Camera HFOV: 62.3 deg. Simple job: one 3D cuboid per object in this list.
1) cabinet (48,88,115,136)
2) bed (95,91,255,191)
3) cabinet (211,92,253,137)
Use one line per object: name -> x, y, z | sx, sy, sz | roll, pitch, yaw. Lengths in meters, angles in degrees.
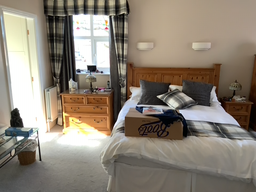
cabinet -> -0.830, 0.270, 3.980 | 1.060, 0.710, 0.580 | 2, 13, 7
bed -> 0.650, 0.480, 3.090 | 1.690, 0.640, 2.180 | 2, 13, 7
cabinet -> 1.820, 0.310, 3.780 | 0.480, 0.650, 0.490 | 2, 13, 7
